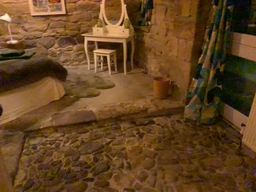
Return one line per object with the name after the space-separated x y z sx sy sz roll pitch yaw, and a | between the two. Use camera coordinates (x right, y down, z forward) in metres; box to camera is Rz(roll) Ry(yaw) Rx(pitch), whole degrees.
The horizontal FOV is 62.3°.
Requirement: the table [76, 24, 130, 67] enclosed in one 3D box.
-0.490 -1.070 4.410 0.960 0.750 0.490 8 27 19 | table
